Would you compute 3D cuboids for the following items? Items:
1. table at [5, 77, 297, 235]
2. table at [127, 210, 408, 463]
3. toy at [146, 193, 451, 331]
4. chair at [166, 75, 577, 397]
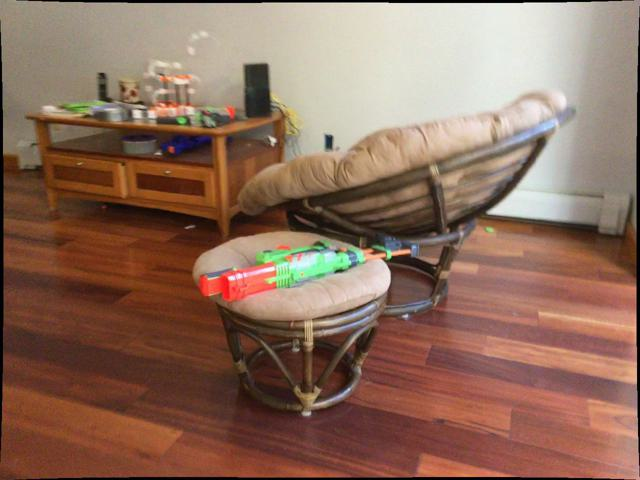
[{"bbox_3d":[-0.869,-0.530,3.180,1.249,0.640,0.840,8,20,19],"label":"table"},{"bbox_3d":[-0.100,0.200,1.560,0.540,0.380,0.560,8,20,19],"label":"table"},{"bbox_3d":[-0.030,0.020,1.580,0.780,0.120,0.340,-14,24,-36],"label":"toy"},{"bbox_3d":[0.260,-0.170,2.110,1.109,0.761,1.110,8,20,19],"label":"chair"}]
